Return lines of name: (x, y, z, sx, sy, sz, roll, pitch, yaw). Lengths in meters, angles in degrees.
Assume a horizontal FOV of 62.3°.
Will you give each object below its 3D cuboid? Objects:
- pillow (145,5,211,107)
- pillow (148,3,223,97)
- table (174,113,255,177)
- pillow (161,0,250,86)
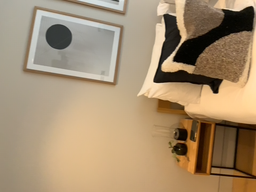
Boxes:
pillow: (0.390, -0.290, 1.650, 0.230, 0.400, 0.680, 142, 135, -72)
pillow: (0.400, -0.280, 1.450, 0.240, 0.430, 0.470, -16, 65, 59)
table: (0.770, 0.410, 1.830, 0.300, 0.610, 0.440, 168, 110, -76)
pillow: (0.450, -0.350, 1.200, 0.210, 0.450, 0.470, -14, 66, 59)
